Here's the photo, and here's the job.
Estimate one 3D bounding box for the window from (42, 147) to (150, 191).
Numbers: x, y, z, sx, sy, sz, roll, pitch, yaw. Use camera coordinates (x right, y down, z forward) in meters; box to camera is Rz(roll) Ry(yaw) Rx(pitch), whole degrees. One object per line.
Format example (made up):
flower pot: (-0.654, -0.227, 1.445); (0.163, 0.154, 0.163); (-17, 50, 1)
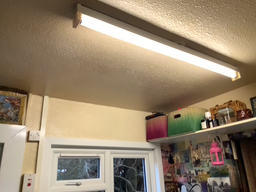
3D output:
window: (-0.240, 0.940, 2.090); (1.170, 0.820, 0.040); (12, -25, -33)
